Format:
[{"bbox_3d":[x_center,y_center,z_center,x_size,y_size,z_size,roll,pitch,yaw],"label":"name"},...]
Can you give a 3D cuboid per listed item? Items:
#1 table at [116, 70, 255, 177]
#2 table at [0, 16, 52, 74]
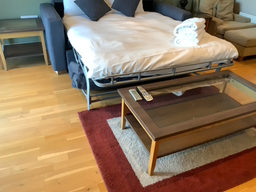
[{"bbox_3d":[0.540,0.160,1.840,1.160,0.430,0.570,-10,36,-20],"label":"table"},{"bbox_3d":[-1.440,-0.730,2.900,0.610,0.540,0.660,-10,36,-20],"label":"table"}]
